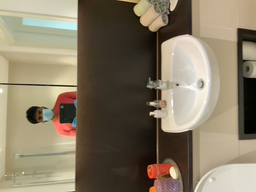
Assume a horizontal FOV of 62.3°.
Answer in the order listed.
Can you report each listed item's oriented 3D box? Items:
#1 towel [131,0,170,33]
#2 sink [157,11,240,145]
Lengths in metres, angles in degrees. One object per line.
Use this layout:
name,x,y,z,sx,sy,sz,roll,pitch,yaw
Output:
towel,0.130,-0.500,1.270,0.180,0.170,0.180,178,93,-72
sink,0.340,-0.070,1.130,0.460,0.180,0.560,176,96,-72
